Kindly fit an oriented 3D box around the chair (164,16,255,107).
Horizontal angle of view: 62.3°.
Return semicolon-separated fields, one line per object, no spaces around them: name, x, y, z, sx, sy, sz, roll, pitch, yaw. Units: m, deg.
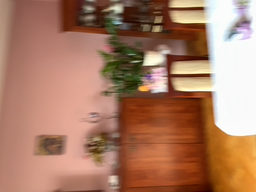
chair;0.810;-0.180;1.500;0.540;0.950;0.410;124;145;-72

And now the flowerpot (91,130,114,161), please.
flowerpot;-0.360;0.690;2.960;0.230;0.310;0.400;127;143;-73

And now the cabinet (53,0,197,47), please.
cabinet;-0.040;-1.250;3.290;0.540;2.040;0.660;130;140;-74
